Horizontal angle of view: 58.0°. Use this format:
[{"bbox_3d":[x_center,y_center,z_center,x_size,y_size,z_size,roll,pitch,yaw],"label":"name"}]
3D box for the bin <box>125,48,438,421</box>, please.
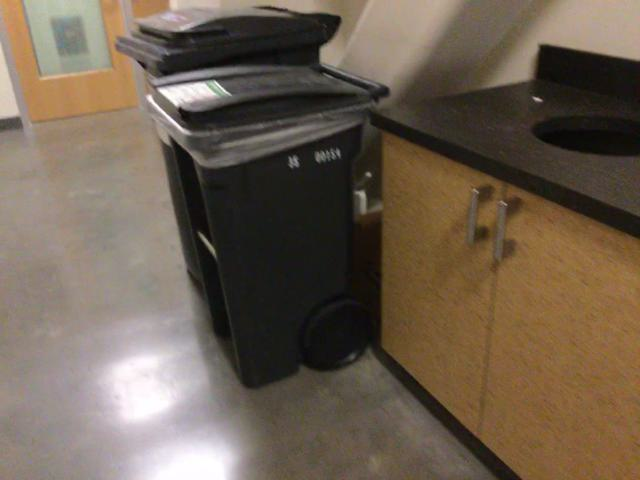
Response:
[{"bbox_3d":[-0.130,-0.090,1.940,0.720,0.930,0.680,-15,28,-25],"label":"bin"}]
